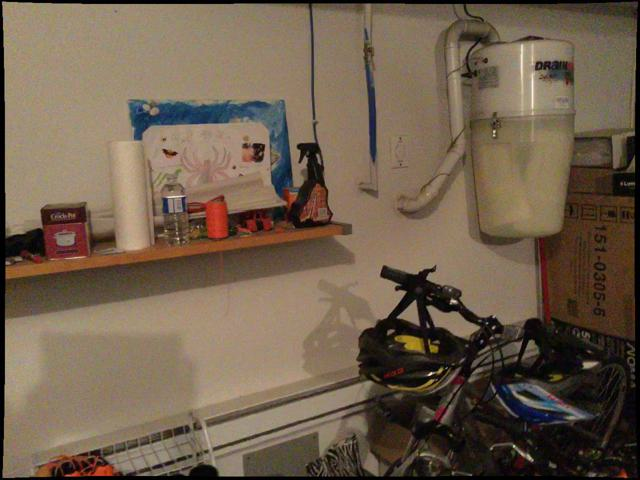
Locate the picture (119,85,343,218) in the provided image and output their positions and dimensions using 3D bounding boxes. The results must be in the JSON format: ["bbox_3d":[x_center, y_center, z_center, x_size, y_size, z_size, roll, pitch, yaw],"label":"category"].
[{"bbox_3d":[-0.250,-0.290,1.790,0.650,0.340,0.140,-10,15,-29],"label":"picture"}]

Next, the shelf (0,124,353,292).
[{"bbox_3d":[-0.499,-0.120,1.600,1.189,0.320,0.310,-10,15,-29],"label":"shelf"}]
